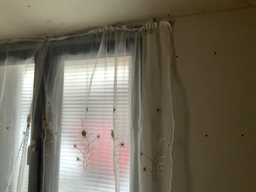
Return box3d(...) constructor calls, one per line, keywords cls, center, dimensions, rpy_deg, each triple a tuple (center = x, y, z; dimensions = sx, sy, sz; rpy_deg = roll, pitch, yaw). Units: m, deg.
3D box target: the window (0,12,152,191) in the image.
box3d(cls="window", center=(-0.580, 0.350, 1.260), dimensions=(1.420, 1.500, 0.160), rpy_deg=(-1, -5, 17))
